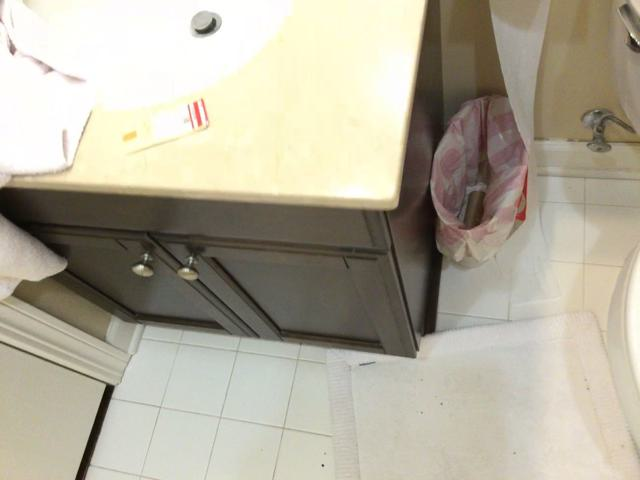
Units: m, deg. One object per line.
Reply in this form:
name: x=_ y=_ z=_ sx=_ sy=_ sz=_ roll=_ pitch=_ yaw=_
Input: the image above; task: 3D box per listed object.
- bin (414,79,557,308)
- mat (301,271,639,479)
bin: x=0.350 y=-0.090 z=1.210 sx=0.230 sy=0.320 sz=0.350 roll=4 pitch=65 yaw=18
mat: x=0.300 y=0.350 z=1.160 sx=0.670 sy=0.060 sz=0.560 roll=-4 pitch=63 yaw=14
